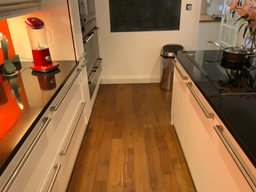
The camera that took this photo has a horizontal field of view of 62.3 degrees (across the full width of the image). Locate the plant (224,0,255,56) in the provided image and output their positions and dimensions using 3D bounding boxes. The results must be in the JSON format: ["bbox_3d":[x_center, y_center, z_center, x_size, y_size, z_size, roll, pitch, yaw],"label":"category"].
[{"bbox_3d":[1.230,-0.690,2.070,0.360,0.500,0.340,-1,26,1],"label":"plant"}]
